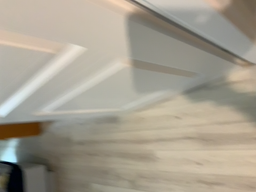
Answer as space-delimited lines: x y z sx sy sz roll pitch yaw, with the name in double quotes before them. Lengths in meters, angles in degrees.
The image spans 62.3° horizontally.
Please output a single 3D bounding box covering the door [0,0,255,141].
"door" -0.410 -0.040 0.520 0.990 2.250 0.170 -25 73 38
